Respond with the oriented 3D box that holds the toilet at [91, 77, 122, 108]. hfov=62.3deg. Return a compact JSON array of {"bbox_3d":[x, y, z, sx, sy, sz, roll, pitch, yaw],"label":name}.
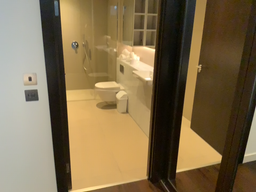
[{"bbox_3d":[-0.420,-0.080,4.150,0.520,0.460,0.400,-5,20,-18],"label":"toilet"}]
